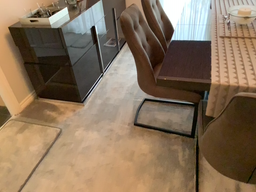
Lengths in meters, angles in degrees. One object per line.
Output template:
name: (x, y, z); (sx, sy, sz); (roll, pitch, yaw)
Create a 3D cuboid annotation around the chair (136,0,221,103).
chair: (0.460, -0.480, 2.040); (0.620, 0.940, 0.470); (7, 39, 15)

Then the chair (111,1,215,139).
chair: (0.280, -0.190, 1.680); (0.600, 0.940, 0.450); (7, 39, 15)

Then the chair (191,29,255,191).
chair: (0.630, 0.230, 1.100); (0.480, 0.950, 0.580); (5, 39, 12)

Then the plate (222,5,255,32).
plate: (0.840, -0.570, 1.540); (0.240, 0.110, 0.250); (5, 39, 13)
